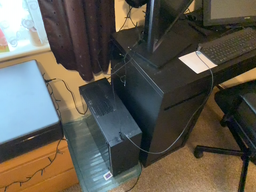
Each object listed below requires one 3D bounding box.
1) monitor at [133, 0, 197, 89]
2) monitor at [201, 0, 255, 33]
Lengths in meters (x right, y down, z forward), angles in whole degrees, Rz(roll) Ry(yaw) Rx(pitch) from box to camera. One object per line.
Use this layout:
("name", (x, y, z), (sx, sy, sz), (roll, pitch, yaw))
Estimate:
("monitor", (0.210, -0.400, 0.920), (0.060, 0.490, 0.620), (24, 51, 16))
("monitor", (0.690, -0.570, 1.230), (0.580, 0.360, 0.030), (-8, 16, -15))
